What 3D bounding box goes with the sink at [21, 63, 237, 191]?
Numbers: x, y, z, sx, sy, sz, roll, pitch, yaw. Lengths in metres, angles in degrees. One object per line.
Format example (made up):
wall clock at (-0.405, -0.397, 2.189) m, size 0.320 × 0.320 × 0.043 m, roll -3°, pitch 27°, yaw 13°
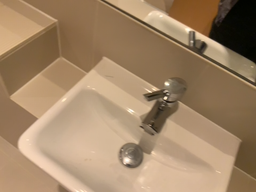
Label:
sink at (0.020, 0.160, 0.590) m, size 0.450 × 0.140 × 0.330 m, roll 31°, pitch 55°, yaw 8°
